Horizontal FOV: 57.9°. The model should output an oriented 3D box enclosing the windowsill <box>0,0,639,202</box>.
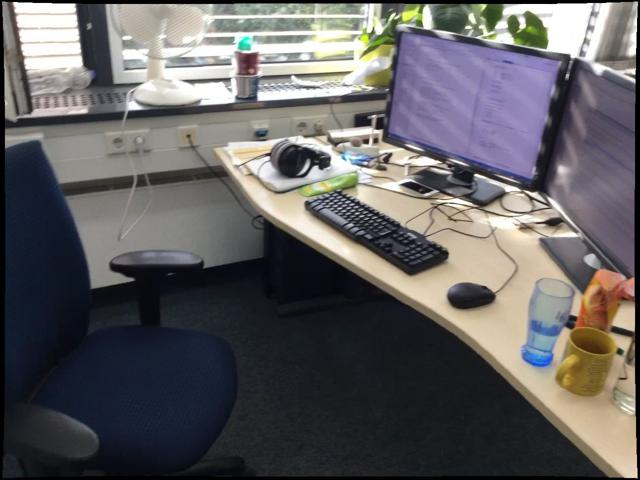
[{"bbox_3d":[0.160,-0.701,2.420,3.077,0.520,0.460,-11,32,-20],"label":"windowsill"}]
